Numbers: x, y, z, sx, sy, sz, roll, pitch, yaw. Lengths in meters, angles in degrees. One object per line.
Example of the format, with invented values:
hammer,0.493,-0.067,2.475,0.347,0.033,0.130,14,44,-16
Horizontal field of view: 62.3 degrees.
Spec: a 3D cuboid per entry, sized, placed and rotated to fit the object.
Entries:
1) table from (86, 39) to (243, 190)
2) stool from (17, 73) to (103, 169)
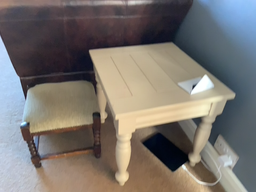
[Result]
table,0.110,0.050,1.150,0.560,0.500,0.550,-8,38,-16
stool,-0.350,0.120,1.170,0.360,0.320,0.360,-6,38,-13
